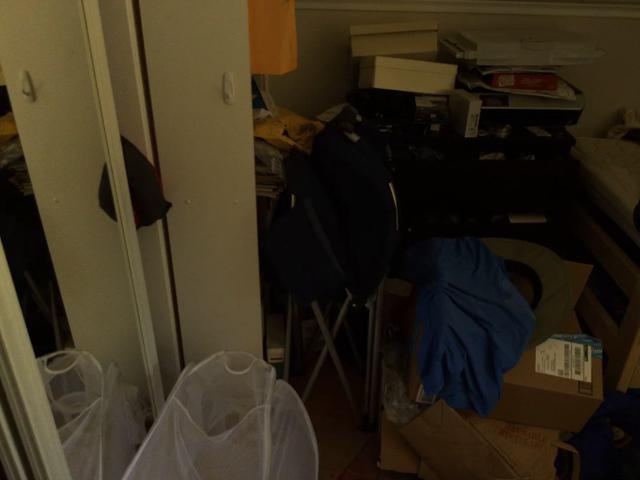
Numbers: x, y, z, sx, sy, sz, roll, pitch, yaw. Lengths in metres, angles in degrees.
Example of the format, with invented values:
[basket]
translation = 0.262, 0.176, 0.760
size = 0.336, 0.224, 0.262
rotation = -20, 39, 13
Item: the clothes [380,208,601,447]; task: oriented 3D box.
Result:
[clothes]
translation = 0.430, 0.220, 1.700
size = 0.490, 0.410, 0.590
rotation = 1, 28, 5
